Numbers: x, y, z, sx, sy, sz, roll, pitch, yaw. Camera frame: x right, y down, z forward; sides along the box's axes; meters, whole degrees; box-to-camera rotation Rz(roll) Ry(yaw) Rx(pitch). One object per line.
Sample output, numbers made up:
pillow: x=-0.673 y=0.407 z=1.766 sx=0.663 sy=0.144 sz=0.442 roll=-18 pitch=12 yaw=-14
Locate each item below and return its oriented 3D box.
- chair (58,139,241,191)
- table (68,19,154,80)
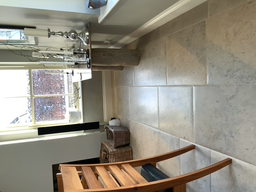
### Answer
chair: x=0.130 y=0.760 z=1.510 sx=0.610 sy=1.130 sz=0.640 roll=-177 pitch=84 yaw=-68
table: x=-0.370 y=-0.550 z=3.060 sx=1.620 sy=0.770 sz=0.570 roll=-174 pitch=81 yaw=-68
